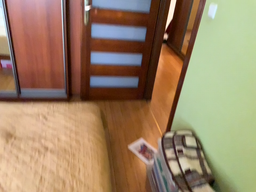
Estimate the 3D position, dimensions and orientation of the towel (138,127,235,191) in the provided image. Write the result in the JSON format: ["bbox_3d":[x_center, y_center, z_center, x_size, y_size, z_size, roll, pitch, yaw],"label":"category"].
[{"bbox_3d":[0.350,0.700,1.260,0.320,0.570,0.910,1,31,-12],"label":"towel"}]

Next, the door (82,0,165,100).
[{"bbox_3d":[-0.060,-0.850,2.260,0.820,2.010,0.130,2,31,-11],"label":"door"}]
